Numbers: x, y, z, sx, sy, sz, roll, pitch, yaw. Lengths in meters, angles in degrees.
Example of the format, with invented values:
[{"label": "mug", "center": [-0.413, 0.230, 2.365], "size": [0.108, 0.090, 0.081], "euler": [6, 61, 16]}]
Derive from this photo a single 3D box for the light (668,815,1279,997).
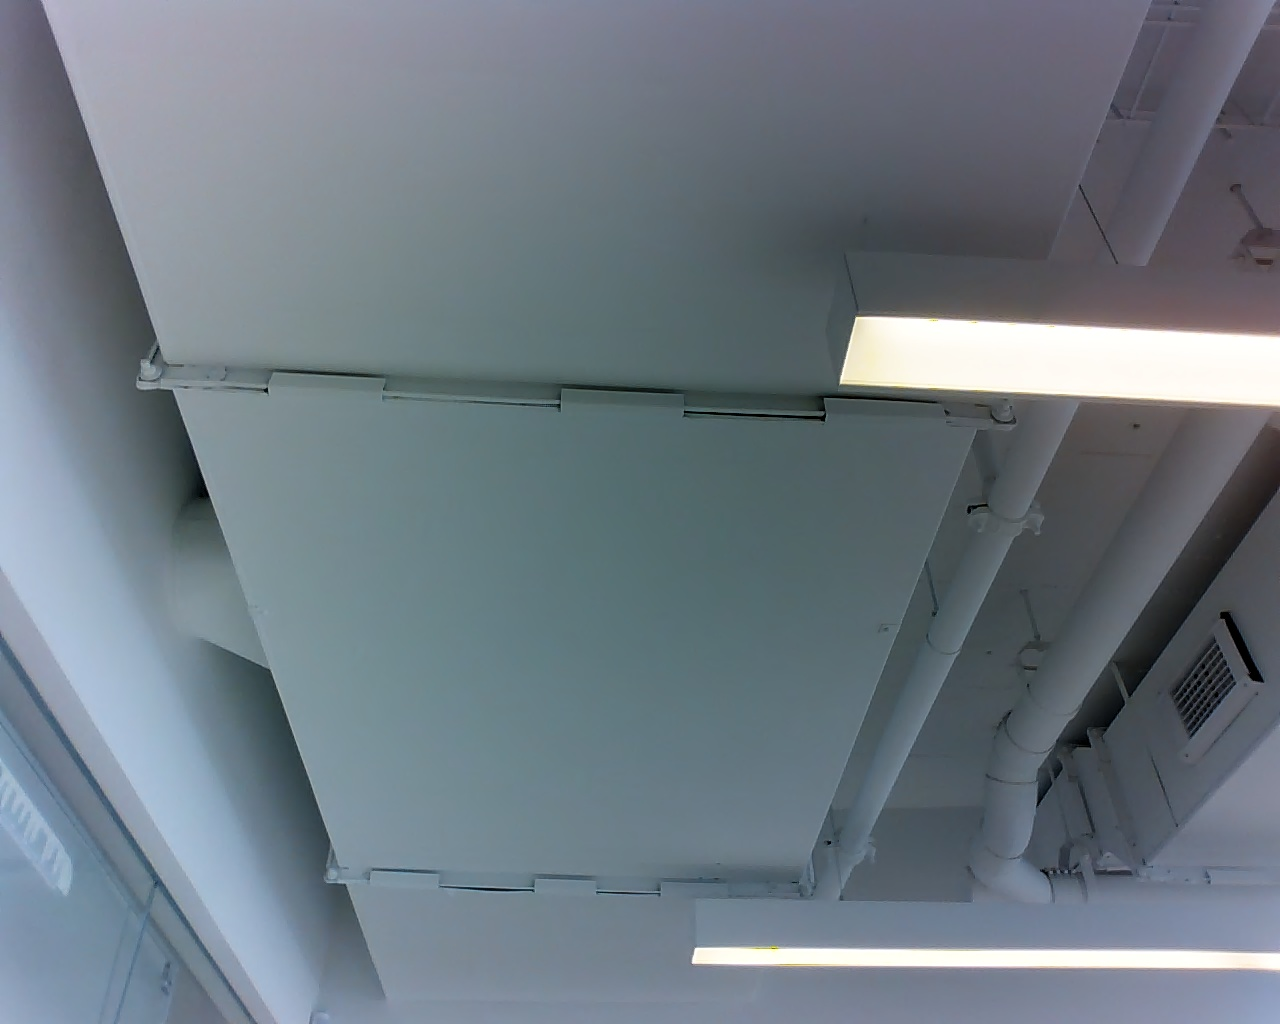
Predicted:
[{"label": "light", "center": [1.329, 0.891, 2.370], "size": [2.518, 0.240, 0.270], "euler": [3, 48, -3]}]
